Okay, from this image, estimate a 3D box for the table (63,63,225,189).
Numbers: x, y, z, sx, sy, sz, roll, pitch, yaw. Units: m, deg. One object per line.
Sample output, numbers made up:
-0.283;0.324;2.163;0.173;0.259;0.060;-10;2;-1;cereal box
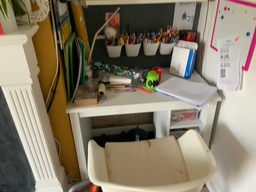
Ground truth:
0.080;0.210;1.650;0.960;0.740;0.510;-4;32;-6;table
